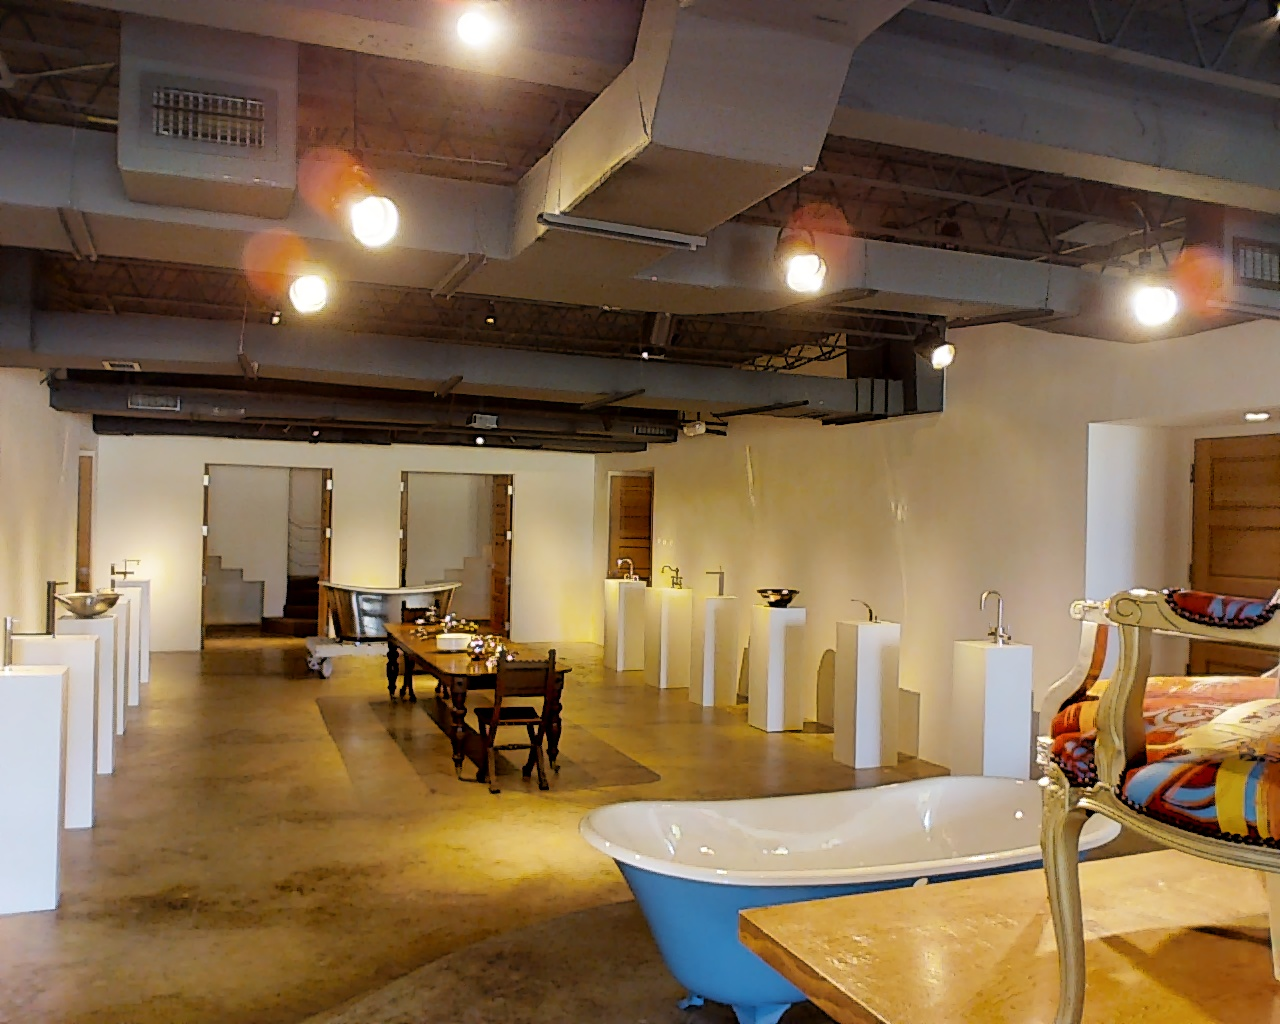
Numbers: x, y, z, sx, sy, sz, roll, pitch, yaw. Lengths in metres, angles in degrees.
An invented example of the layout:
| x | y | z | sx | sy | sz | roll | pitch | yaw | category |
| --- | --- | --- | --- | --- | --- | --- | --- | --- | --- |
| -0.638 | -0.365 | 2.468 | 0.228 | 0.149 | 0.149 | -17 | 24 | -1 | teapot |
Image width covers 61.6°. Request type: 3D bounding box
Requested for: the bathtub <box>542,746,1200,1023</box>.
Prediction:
| x | y | z | sx | sy | sz | roll | pitch | yaw | category |
| --- | --- | --- | --- | --- | --- | --- | --- | --- | --- |
| 0.670 | 1.150 | 3.200 | 1.750 | 0.630 | 0.810 | 1 | 0 | -21 | bathtub |
